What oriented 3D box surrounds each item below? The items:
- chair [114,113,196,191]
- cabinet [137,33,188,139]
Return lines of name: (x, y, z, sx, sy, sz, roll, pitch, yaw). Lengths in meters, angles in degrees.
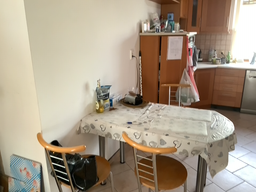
chair: (0.210, 0.620, 1.600, 0.430, 0.810, 0.480, 8, 19, 26)
cabinet: (0.480, -0.160, 3.070, 0.610, 1.450, 0.320, 7, 19, 24)
